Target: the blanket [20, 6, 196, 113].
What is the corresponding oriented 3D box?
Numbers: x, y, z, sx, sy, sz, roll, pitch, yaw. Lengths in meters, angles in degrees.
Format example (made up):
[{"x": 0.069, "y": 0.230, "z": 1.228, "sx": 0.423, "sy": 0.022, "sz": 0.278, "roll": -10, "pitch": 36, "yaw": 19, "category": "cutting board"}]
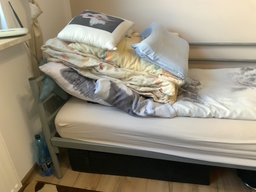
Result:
[{"x": -0.060, "y": -0.300, "z": 1.440, "sx": 0.910, "sy": 0.490, "sz": 0.650, "roll": 4, "pitch": 29, "yaw": 12, "category": "blanket"}]
